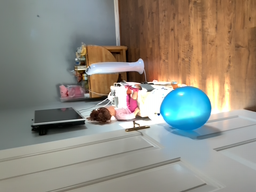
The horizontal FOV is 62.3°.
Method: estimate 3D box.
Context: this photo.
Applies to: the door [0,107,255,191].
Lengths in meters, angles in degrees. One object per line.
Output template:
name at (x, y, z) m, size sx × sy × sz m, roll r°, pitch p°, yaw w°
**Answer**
door at (0.180, 0.260, 0.930) m, size 0.870 × 1.980 × 0.040 m, roll -162°, pitch 68°, yaw -65°
